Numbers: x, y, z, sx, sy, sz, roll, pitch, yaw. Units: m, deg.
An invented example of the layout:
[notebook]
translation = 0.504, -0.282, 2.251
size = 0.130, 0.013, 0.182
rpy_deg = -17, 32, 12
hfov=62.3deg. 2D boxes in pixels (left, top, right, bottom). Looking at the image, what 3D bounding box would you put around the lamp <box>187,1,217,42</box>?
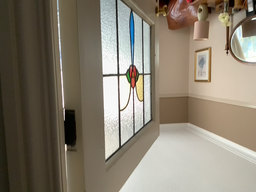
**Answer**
[lamp]
translation = 0.990, -0.990, 2.860
size = 0.270, 0.460, 0.280
rpy_deg = -2, -174, -17
